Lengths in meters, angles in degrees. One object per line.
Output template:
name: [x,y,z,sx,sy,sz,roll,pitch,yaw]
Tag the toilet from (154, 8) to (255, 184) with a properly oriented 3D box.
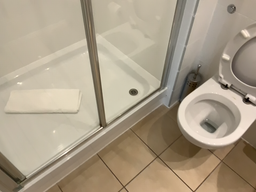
toilet: [0.520,0.050,1.220,0.520,0.840,0.380,-33,59,-25]
